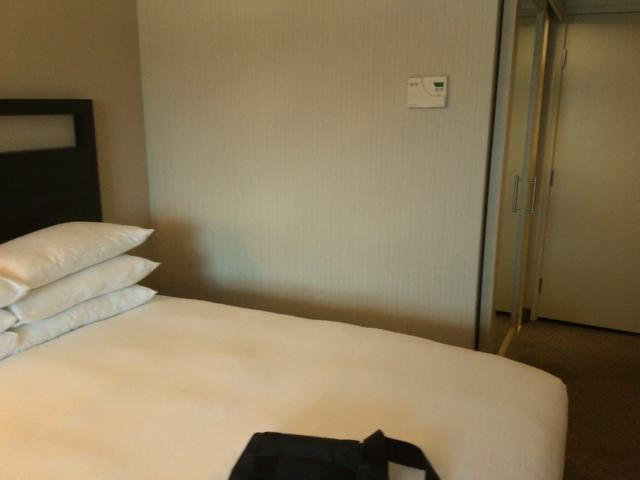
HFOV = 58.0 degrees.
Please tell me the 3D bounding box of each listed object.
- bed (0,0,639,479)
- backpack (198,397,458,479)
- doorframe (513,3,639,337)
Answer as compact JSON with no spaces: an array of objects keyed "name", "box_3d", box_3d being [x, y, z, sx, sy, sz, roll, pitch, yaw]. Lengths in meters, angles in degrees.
[{"name":"bed","box_3d":[-0.450,0.360,1.500,2.100,1.580,1.640,4,11,24]},{"name":"backpack","box_3d":[0.010,0.480,1.070,0.390,0.120,0.490,4,11,24]},{"name":"doorframe","box_3d":[1.750,-0.380,3.410,1.060,1.880,0.200,4,11,24]}]
